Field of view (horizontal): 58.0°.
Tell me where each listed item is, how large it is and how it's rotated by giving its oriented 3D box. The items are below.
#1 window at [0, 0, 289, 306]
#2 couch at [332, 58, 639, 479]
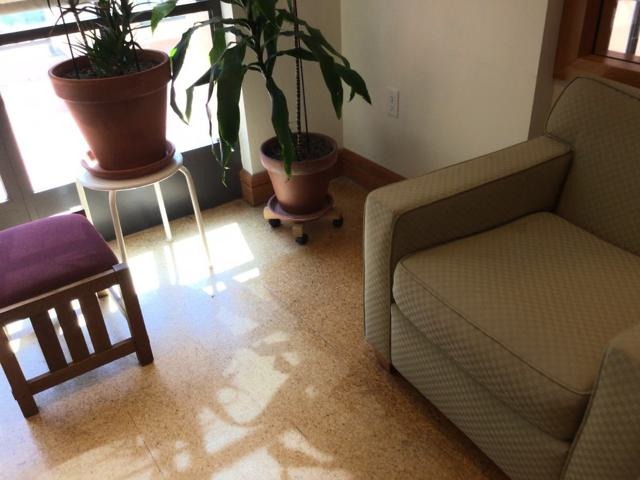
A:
[{"bbox_3d":[-1.050,-0.430,1.990,1.930,1.210,0.310,-21,34,-29],"label":"window"},{"bbox_3d":[0.660,0.090,1.430,0.860,0.780,0.910,-21,34,-29],"label":"couch"}]
